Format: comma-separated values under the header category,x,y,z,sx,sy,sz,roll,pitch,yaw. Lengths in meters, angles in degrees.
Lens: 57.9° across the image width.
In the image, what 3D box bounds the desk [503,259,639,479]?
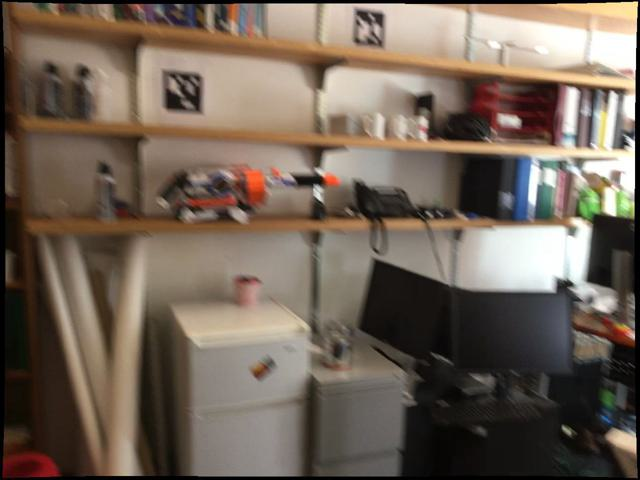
category,x,y,z,sx,sy,sz,roll,pitch,yaw
desk,1.748,0.691,2.550,0.929,0.821,1.460,-4,14,-32

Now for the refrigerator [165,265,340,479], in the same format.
category,x,y,z,sx,sy,sz,roll,pitch,yaw
refrigerator,-0.320,0.621,2.400,0.550,0.891,0.590,-2,13,-23

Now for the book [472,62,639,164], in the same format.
category,x,y,z,sx,sy,sz,roll,pitch,yaw
book,1.189,-0.631,2.930,0.699,0.440,0.340,-2,13,-23

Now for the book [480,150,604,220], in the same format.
category,x,y,z,sx,sy,sz,roll,pitch,yaw
book,1.089,-0.270,2.840,0.560,0.310,0.180,-2,13,-23
